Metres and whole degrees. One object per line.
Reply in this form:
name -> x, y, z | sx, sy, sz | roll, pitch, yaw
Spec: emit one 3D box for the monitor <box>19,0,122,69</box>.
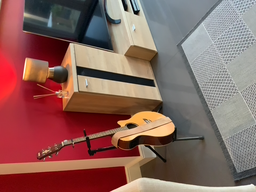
monitor -> -0.630, -1.050, 2.280 | 0.110, 0.890, 1.650 | -47, 47, 44
